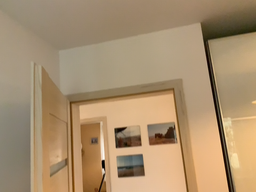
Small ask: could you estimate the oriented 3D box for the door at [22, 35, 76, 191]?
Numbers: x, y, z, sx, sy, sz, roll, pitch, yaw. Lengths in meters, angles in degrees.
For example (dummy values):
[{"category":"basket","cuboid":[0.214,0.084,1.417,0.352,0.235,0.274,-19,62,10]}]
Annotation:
[{"category":"door","cuboid":[-0.340,0.870,1.080,0.040,2.040,1.000,-3,-12,-7]}]
